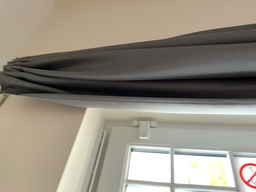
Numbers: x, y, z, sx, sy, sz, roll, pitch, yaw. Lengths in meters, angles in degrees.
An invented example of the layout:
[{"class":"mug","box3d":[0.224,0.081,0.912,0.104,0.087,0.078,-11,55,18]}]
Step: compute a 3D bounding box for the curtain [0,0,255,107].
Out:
[{"class":"curtain","box3d":[0.710,-0.230,0.760,0.220,2.410,0.530,80,-166,-47]}]
